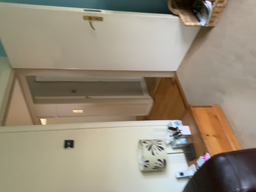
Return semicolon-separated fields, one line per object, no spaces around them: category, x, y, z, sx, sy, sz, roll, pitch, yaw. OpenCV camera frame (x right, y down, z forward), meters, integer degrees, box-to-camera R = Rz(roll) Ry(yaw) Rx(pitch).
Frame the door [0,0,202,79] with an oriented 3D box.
door;-0.310;-0.540;2.320;0.850;2.020;0.140;105;160;-50
